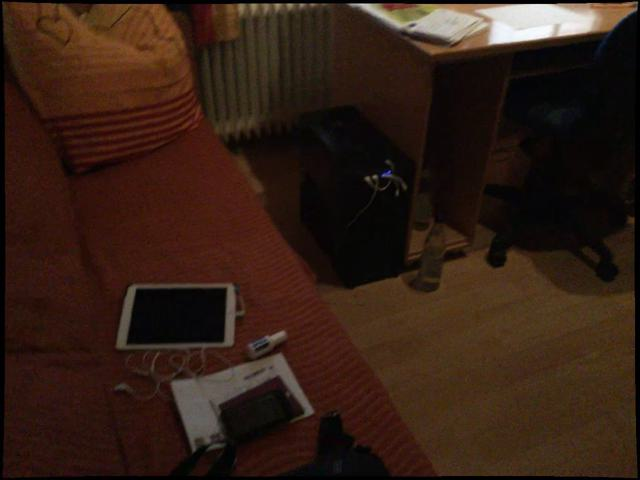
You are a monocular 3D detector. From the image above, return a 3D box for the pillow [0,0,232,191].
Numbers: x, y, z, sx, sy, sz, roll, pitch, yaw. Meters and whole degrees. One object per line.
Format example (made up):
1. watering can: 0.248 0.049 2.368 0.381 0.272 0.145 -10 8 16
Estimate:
1. pillow: -0.639 -0.561 1.780 0.560 0.510 0.530 -15 42 -19
